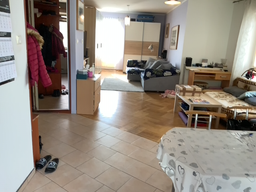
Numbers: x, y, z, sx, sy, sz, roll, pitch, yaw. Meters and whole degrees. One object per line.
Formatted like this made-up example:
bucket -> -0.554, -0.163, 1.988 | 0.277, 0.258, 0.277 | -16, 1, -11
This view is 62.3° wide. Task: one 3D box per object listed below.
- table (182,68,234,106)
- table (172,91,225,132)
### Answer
table -> 2.100, -0.260, 5.690 | 1.020, 0.820, 0.630 | 3, 15, -2
table -> 1.300, 0.270, 4.100 | 0.640, 0.490, 0.900 | 3, 15, -4
